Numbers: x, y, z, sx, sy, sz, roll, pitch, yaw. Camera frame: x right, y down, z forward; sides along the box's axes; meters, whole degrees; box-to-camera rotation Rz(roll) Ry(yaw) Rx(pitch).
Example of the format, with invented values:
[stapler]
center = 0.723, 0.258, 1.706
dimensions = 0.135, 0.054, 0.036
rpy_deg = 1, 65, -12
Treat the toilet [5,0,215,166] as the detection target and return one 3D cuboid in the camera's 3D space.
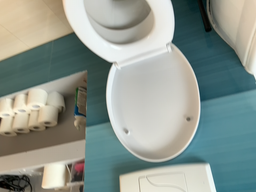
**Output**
[toilet]
center = 0.000, -0.220, 0.750
dimensions = 0.370, 0.790, 0.510
rpy_deg = -14, 151, 18
